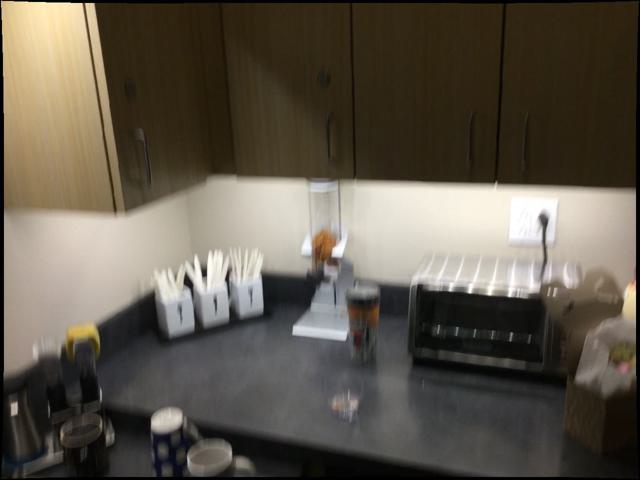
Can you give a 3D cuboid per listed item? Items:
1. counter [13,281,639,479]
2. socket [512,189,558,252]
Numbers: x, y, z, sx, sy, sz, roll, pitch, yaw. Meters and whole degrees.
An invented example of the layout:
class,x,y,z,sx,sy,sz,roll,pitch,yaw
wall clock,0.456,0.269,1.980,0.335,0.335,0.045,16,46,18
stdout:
class,x,y,z,sx,sy,sz,roll,pitch,yaw
counter,0.389,0.351,1.330,2.155,0.110,0.640,3,19,19
socket,0.539,-0.050,1.450,0.100,0.140,0.060,3,19,19
